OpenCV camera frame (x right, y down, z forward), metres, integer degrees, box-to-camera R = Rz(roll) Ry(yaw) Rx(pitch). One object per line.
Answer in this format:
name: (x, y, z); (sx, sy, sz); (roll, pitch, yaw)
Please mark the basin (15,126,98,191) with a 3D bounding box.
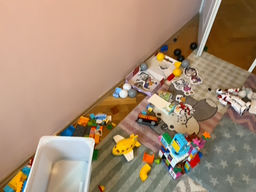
basin: (-0.360, 0.430, 1.160); (0.330, 0.250, 0.450); (2, 51, -2)
